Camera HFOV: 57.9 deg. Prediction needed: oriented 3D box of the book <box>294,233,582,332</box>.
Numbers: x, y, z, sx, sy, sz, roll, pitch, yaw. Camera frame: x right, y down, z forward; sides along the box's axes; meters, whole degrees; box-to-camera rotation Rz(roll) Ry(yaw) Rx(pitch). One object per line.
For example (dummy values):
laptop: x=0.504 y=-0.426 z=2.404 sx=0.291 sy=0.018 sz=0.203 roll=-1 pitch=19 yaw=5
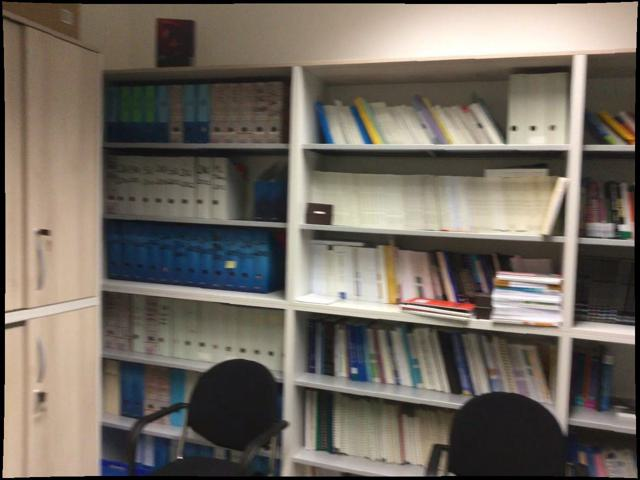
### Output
book: x=0.509 y=0.160 z=2.610 sx=1.179 sy=0.310 sz=0.420 roll=3 pitch=5 yaw=19

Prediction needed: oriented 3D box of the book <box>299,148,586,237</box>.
book: x=0.529 y=-0.220 z=2.610 sx=1.169 sy=0.340 sz=0.430 roll=3 pitch=5 yaw=19

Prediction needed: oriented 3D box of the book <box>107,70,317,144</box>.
book: x=-0.579 y=-0.681 z=3.060 sx=1.089 sy=0.310 sz=0.290 roll=3 pitch=5 yaw=19

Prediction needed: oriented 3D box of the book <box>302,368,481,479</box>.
book: x=0.340 y=0.851 z=2.750 sx=0.789 sy=0.320 sz=0.290 roll=3 pitch=5 yaw=19

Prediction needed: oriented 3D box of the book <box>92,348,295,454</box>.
book: x=-0.659 y=0.791 z=2.920 sx=1.089 sy=0.350 sz=0.140 roll=3 pitch=5 yaw=19

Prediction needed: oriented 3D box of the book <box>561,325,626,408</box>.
book: x=1.179 y=0.541 z=2.510 sx=0.220 sy=0.280 sz=0.220 roll=3 pitch=5 yaw=19

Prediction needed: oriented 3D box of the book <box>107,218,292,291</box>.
book: x=-0.649 y=0.060 z=3.090 sx=0.969 sy=0.320 sz=0.260 roll=3 pitch=5 yaw=19

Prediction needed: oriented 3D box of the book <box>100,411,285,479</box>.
book: x=-0.679 y=1.161 z=3.030 sx=0.979 sy=0.330 sz=0.210 roll=3 pitch=5 yaw=19

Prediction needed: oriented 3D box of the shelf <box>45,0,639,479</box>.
shelf: x=1.069 y=0.320 z=2.370 sx=4.906 sy=2.322 sz=0.650 roll=3 pitch=5 yaw=19

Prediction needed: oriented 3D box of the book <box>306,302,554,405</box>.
book: x=0.499 y=0.511 z=2.730 sx=1.099 sy=0.300 sz=0.270 roll=3 pitch=5 yaw=19

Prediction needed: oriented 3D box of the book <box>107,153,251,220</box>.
book: x=-0.759 y=-0.290 z=3.120 sx=0.729 sy=0.330 sz=0.260 roll=3 pitch=5 yaw=19

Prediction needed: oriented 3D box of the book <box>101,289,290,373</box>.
book: x=-0.659 y=0.450 z=2.950 sx=1.069 sy=0.320 sz=0.060 roll=3 pitch=5 yaw=19

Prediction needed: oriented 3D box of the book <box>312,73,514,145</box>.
book: x=0.430 y=-0.601 z=2.720 sx=0.899 sy=0.270 sz=0.240 roll=3 pitch=5 yaw=19

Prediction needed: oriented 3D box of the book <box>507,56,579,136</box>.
book: x=0.939 y=-0.601 z=2.450 sx=0.260 sy=0.300 sz=0.150 roll=3 pitch=5 yaw=19
